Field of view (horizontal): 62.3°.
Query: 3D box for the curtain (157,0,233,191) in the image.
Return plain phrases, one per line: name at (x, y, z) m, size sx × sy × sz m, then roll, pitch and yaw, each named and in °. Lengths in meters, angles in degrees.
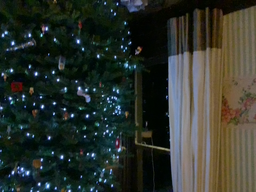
curtain at (0.710, 0.530, 2.310) m, size 0.710 × 3.330 × 0.350 m, roll -1°, pitch 178°, yaw 40°
